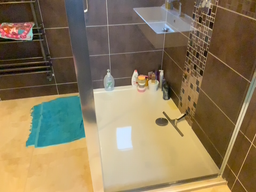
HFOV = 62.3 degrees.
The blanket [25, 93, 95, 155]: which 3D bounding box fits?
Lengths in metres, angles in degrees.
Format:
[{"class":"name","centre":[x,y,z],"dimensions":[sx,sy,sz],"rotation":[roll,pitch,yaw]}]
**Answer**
[{"class":"blanket","centre":[-0.640,0.220,2.020],"dimensions":[0.550,0.030,0.740],"rotation":[-9,34,-13]}]
